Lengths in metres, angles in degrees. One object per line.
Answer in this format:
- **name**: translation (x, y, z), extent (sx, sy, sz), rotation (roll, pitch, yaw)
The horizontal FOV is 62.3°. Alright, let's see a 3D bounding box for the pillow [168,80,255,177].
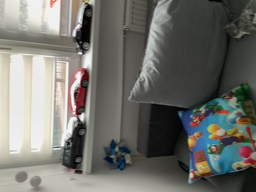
- **pillow**: translation (0.440, 0.180, 1.080), extent (0.390, 0.190, 0.360), rotation (-49, 47, 52)
